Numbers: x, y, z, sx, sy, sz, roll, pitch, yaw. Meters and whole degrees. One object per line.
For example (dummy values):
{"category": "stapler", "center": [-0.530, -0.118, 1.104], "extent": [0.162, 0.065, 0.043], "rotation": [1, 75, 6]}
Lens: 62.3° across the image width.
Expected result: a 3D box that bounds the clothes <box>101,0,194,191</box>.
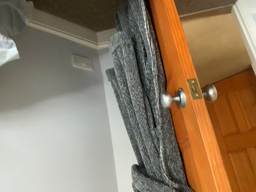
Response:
{"category": "clothes", "center": [0.070, 0.240, 0.940], "extent": [0.180, 1.110, 0.630], "rotation": [-9, 160, -3]}
